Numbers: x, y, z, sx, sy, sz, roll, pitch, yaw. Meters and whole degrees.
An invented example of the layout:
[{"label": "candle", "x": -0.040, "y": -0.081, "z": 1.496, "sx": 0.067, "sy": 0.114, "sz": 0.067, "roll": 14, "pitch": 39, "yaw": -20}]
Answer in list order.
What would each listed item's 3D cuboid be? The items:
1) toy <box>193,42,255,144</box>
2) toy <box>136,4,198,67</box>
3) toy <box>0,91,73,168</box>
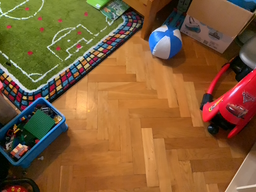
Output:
[{"label": "toy", "x": 0.740, "y": -0.030, "z": 1.320, "sx": 0.320, "sy": 0.380, "sz": 0.480, "roll": 43, "pitch": 67, "yaw": 14}, {"label": "toy", "x": 0.290, "y": -0.460, "z": 1.610, "sx": 0.270, "sy": 0.200, "sz": 0.350, "roll": 41, "pitch": 67, "yaw": 13}, {"label": "toy", "x": -0.540, "y": 0.190, "z": 1.230, "sx": 0.240, "sy": 0.160, "sz": 0.340, "roll": 38, "pitch": 66, "yaw": 12}]
